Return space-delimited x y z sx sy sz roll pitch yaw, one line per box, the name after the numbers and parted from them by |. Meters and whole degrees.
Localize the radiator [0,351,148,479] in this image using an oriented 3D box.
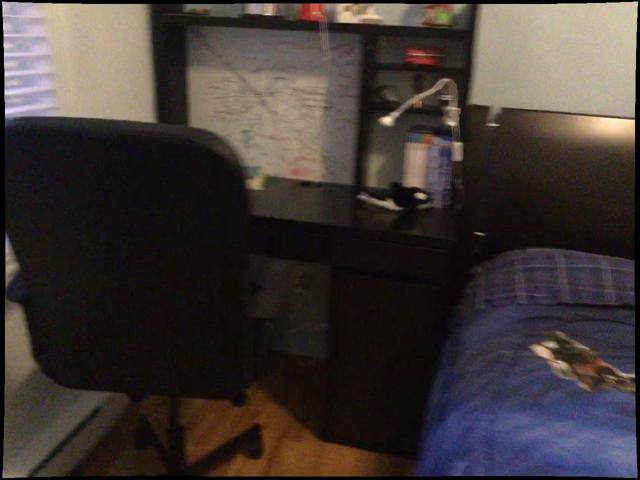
-0.809 0.701 1.380 0.100 0.180 1.370 7 21 12 | radiator

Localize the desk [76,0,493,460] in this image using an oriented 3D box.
-0.090 -0.110 1.930 1.089 1.351 0.570 7 21 12 | desk
